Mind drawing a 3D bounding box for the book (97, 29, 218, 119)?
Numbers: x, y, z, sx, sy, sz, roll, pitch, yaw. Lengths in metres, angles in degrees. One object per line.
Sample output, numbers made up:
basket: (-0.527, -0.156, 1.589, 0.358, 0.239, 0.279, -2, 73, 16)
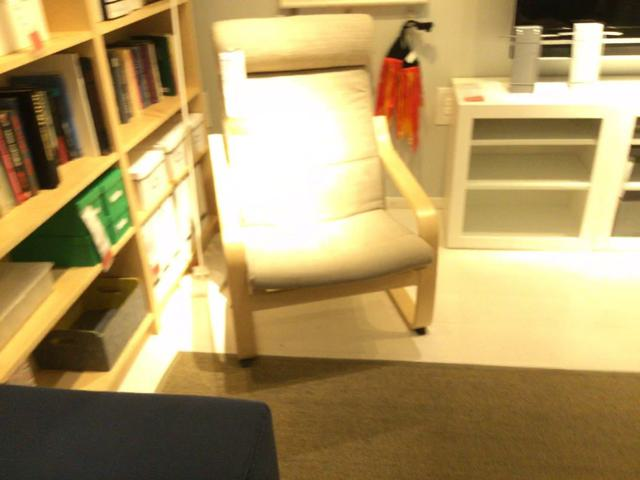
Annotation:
book: (-0.610, -0.650, 2.240, 0.270, 0.240, 0.380, -4, 25, 12)

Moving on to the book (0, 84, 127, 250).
book: (-0.790, -0.180, 1.430, 0.260, 0.230, 0.720, -4, 25, 12)

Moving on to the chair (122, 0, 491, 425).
chair: (-0.030, -0.190, 1.960, 0.830, 1.070, 0.910, -12, 25, -5)
